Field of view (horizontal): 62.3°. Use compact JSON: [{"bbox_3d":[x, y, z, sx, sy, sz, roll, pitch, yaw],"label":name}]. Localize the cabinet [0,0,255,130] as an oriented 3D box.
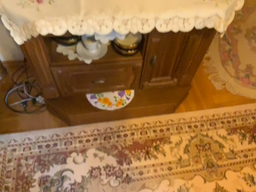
[{"bbox_3d":[-0.050,-0.280,1.170,0.940,0.770,0.550,-6,57,-9],"label":"cabinet"}]
